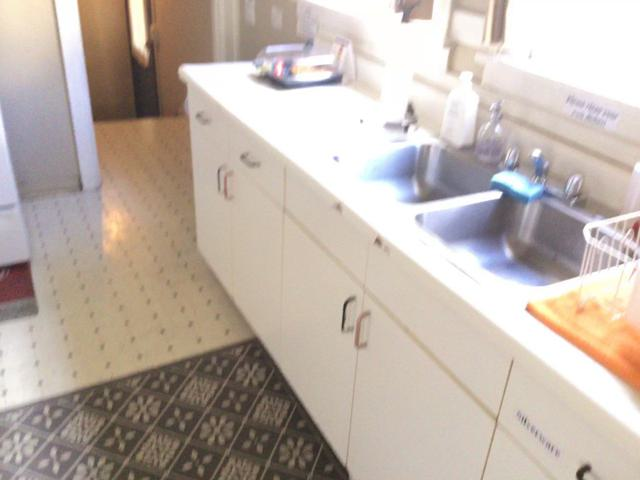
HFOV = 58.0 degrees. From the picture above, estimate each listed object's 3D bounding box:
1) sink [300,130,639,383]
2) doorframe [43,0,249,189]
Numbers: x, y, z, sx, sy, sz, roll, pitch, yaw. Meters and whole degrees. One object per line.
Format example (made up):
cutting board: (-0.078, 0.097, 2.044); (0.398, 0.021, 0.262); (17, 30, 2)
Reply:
sink: (0.380, -0.040, 1.430); (0.530, 0.220, 0.770); (-10, 31, -30)
doorframe: (-0.900, -1.300, 3.040); (1.020, 2.060, 0.240); (-5, 29, -23)
